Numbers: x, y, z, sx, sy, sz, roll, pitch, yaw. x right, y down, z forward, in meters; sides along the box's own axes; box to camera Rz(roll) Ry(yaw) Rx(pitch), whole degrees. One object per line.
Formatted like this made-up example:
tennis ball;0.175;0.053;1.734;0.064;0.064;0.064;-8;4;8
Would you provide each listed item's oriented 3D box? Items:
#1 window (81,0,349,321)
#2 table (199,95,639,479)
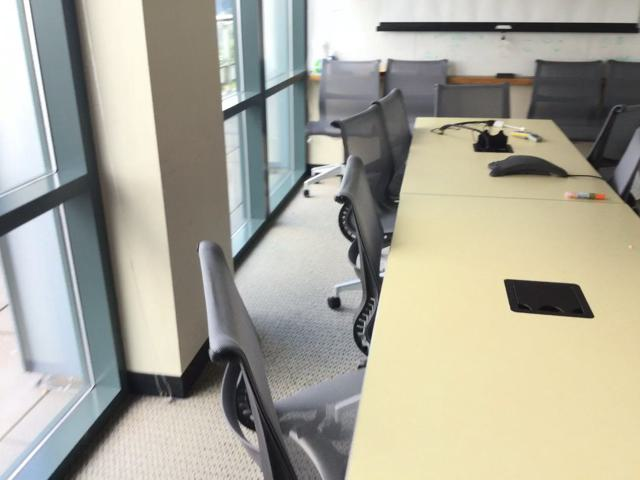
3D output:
window;-0.370;-1.250;3.220;0.590;2.530;2.270;3;24;13
table;0.650;0.120;2.160;0.910;0.800;3.090;3;23;13
